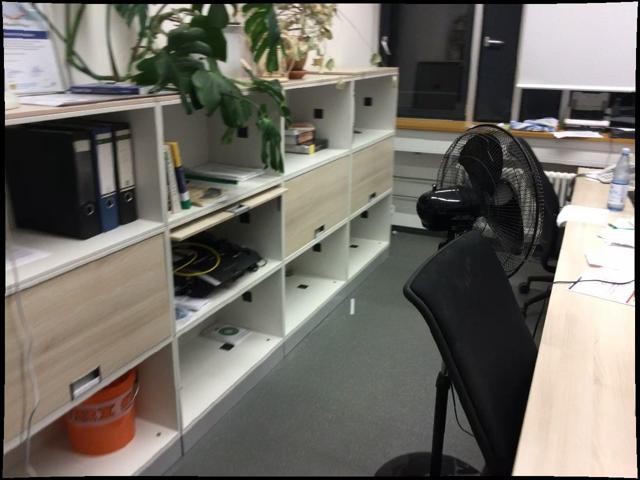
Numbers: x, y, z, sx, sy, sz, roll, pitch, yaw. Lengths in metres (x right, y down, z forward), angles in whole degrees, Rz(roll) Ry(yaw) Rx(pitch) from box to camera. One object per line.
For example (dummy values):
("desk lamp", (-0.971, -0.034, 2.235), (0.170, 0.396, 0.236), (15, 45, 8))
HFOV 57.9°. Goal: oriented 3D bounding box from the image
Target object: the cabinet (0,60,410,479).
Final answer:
("cabinet", (-0.340, -0.100, 2.660), (0.450, 1.291, 3.170), (13, 22, 22))
